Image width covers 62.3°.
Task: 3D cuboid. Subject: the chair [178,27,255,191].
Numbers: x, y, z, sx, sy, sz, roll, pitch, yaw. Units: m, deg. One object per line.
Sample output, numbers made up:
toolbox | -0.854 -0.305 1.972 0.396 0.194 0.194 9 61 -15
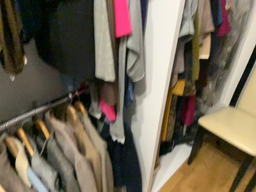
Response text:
chair | 0.840 0.120 1.620 0.470 1.060 0.580 29 42 31

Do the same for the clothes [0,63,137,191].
clothes | -0.460 0.470 1.100 0.550 0.950 0.810 28 41 31
